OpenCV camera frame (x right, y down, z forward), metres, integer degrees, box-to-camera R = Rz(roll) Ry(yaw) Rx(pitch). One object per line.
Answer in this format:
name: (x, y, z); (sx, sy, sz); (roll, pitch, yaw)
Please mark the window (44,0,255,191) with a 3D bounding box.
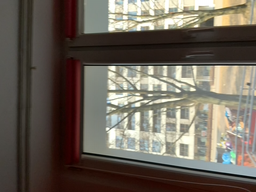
window: (0.260, -0.160, 1.030); (0.120, 1.480, 1.360); (-20, -69, -71)
